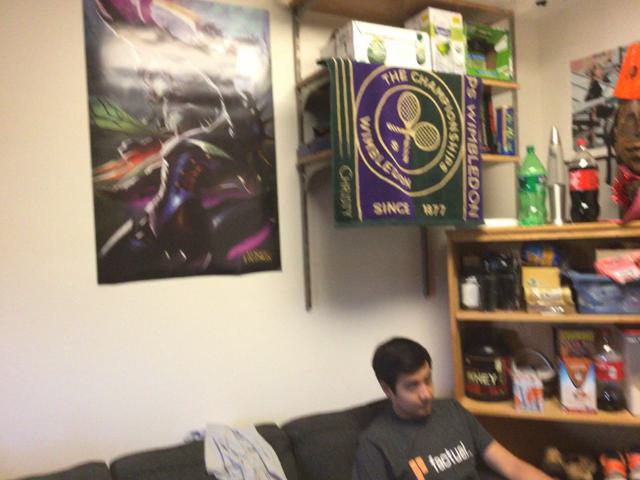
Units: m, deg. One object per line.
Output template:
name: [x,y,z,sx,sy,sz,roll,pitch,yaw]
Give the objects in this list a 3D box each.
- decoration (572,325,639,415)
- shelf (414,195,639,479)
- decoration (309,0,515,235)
decoration: [1.240,0.490,2.220,0.350,0.250,0.340,-4,0,-29]
shelf: [1.020,0.630,2.290,0.800,1.540,0.880,-4,0,-29]
decoration: [0.370,-0.470,2.180,0.790,0.850,0.140,-4,0,-29]
